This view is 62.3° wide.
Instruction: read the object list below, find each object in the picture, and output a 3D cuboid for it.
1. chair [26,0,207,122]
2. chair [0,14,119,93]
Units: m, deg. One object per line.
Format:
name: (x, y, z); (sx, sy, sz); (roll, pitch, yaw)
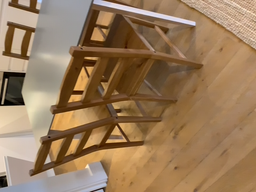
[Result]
chair: (-0.060, -0.210, 1.290); (0.520, 0.870, 0.420); (54, 128, 35)
chair: (-0.620, -0.340, 1.940); (0.380, 0.890, 0.490); (-55, 51, 34)
